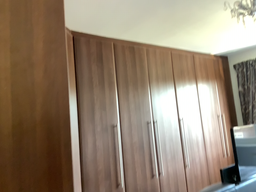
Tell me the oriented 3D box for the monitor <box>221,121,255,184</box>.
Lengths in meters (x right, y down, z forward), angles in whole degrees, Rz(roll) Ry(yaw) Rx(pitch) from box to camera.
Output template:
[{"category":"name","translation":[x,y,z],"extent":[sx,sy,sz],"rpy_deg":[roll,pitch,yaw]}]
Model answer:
[{"category":"monitor","translation":[1.110,0.480,1.940],"extent":[0.690,0.460,0.050],"rpy_deg":[-1,-7,-34]}]
